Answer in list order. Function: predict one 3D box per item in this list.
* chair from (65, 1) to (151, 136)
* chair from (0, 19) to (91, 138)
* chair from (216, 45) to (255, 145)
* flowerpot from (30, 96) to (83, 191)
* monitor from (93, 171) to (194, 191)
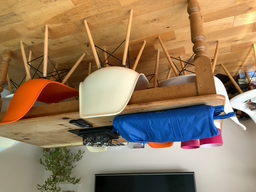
[{"bbox_3d":[-0.100,-0.170,1.570,0.420,0.800,0.500,-6,156,14],"label":"chair"},{"bbox_3d":[-0.680,-0.100,1.780,0.410,0.770,0.540,-16,152,32],"label":"chair"},{"bbox_3d":[1.250,0.020,2.010,0.490,0.800,0.430,9,155,-19],"label":"chair"},{"bbox_3d":[-0.990,0.730,3.030,0.500,1.410,0.260,-7,155,16],"label":"flowerpot"},{"bbox_3d":[0.140,1.260,2.420,1.220,0.740,0.040,-8,159,19],"label":"monitor"}]
